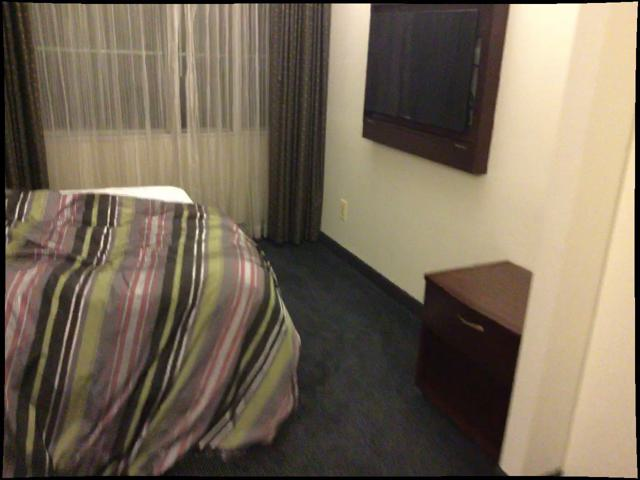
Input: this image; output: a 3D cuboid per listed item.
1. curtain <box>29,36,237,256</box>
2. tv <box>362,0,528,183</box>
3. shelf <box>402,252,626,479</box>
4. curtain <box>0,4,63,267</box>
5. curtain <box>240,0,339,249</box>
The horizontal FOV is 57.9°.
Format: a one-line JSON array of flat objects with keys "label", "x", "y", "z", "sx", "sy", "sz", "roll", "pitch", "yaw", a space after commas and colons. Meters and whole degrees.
[{"label": "curtain", "x": -1.209, "y": -0.631, "z": 3.940, "sx": 1.249, "sy": 1.361, "sz": 0.240, "roll": -6, "pitch": 23, "yaw": -25}, {"label": "tv", "x": 0.579, "y": -0.851, "z": 3.040, "sx": 0.160, "sy": 0.851, "sz": 1.050, "roll": -6, "pitch": 23, "yaw": -25}, {"label": "shelf", "x": 0.749, "y": 0.470, "z": 2.390, "sx": 0.480, "sy": 0.601, "sz": 0.640, "roll": -6, "pitch": 23, "yaw": -25}, {"label": "curtain", "x": -1.898, "y": -0.581, "z": 3.420, "sx": 0.550, "sy": 1.531, "sz": 0.150, "roll": -6, "pitch": 22, "yaw": -25}, {"label": "curtain", "x": -0.230, "y": -1.031, "z": 3.910, "sx": 0.470, "sy": 2.112, "sz": 0.490, "roll": -6, "pitch": 22, "yaw": -25}]
